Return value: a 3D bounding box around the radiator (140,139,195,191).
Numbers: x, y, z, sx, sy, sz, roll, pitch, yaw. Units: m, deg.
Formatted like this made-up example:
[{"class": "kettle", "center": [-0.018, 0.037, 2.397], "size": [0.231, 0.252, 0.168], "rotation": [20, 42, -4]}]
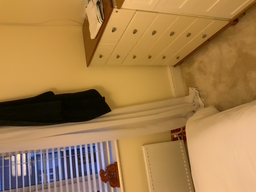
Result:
[{"class": "radiator", "center": [0.360, 0.690, 1.940], "size": [0.070, 0.430, 0.520], "rotation": [139, 124, -63]}]
